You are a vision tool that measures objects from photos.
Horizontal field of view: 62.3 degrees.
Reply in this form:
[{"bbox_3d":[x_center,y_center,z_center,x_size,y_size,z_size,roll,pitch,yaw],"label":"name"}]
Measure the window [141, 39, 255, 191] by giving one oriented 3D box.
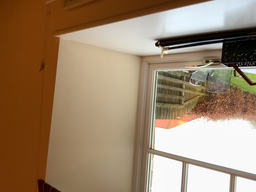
[{"bbox_3d":[0.460,0.250,1.130,0.830,1.050,0.080,4,179,40],"label":"window"}]
